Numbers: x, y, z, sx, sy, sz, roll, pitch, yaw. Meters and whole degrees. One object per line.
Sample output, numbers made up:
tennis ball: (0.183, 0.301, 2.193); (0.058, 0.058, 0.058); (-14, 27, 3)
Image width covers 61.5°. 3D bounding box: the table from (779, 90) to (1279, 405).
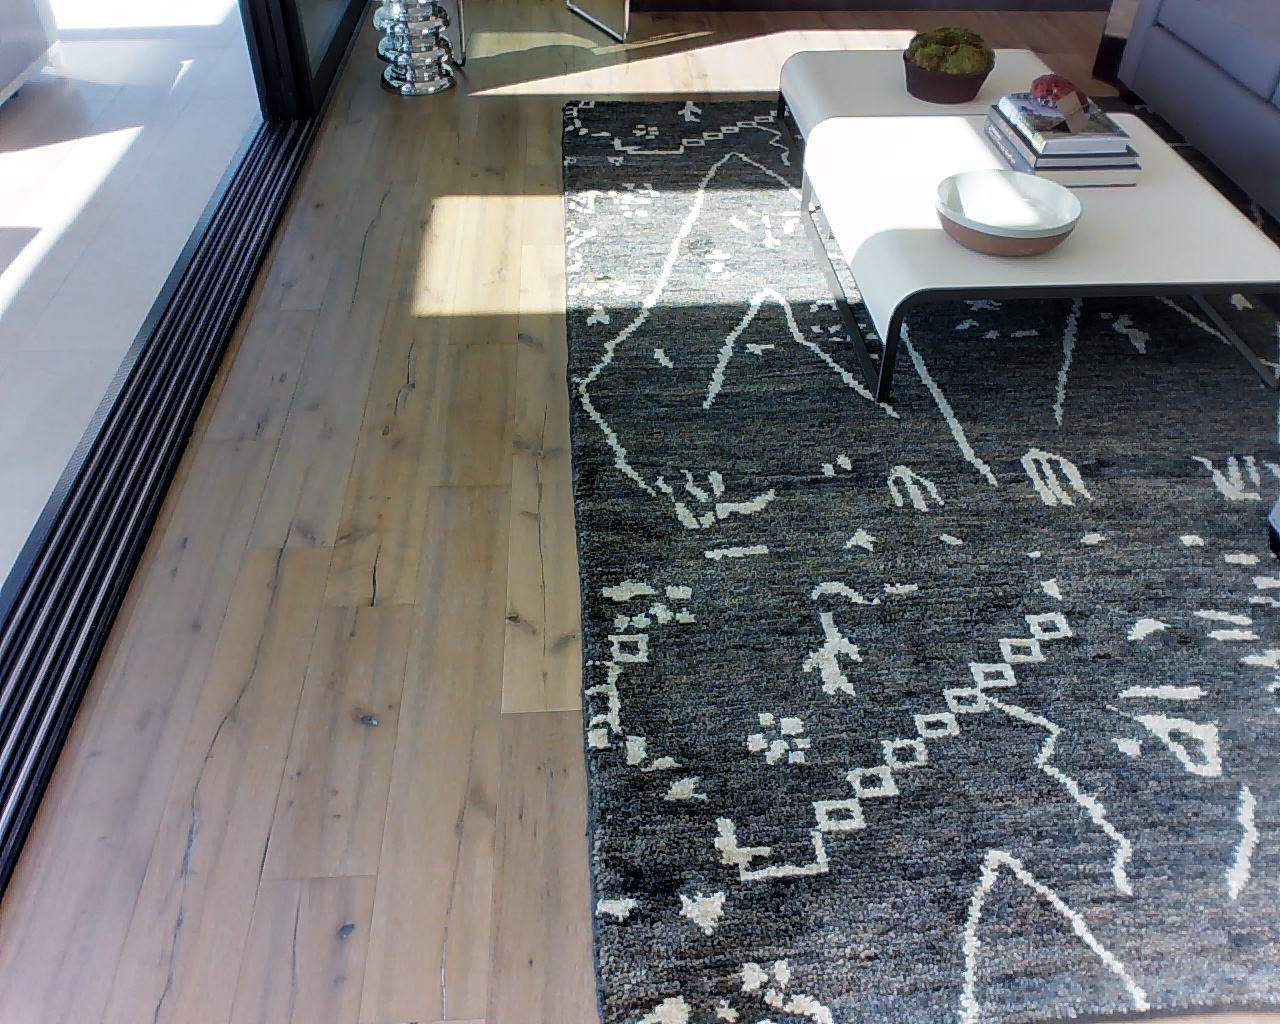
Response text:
table: (1.060, -0.800, 3.050); (1.120, 0.350, 1.140); (-2, 42, -3)
